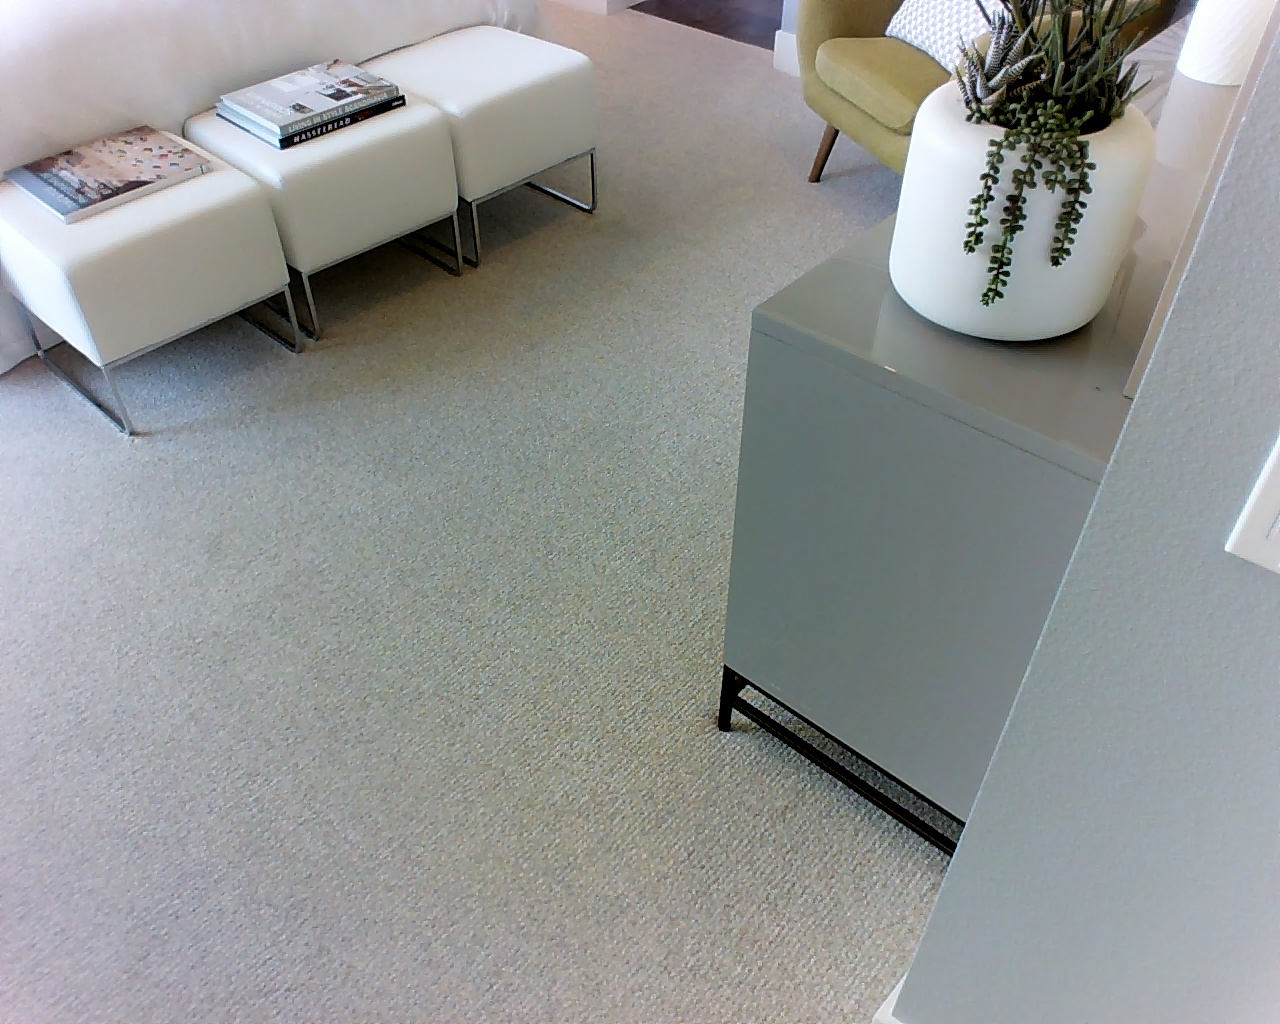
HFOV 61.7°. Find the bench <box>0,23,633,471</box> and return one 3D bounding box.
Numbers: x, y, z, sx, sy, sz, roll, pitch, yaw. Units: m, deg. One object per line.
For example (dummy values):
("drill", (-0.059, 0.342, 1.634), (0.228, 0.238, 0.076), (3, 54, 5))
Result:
("bench", (-0.730, -0.750, 2.720), (0.500, 0.460, 1.520), (33, 52, 31))

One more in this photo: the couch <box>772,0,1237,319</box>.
("couch", (0.920, -1.200, 2.950), (0.690, 0.840, 0.930), (-17, 45, -16))

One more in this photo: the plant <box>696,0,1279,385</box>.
("plant", (0.330, -0.490, 1.050), (0.510, 0.670, 0.270), (-3, 42, -2))
